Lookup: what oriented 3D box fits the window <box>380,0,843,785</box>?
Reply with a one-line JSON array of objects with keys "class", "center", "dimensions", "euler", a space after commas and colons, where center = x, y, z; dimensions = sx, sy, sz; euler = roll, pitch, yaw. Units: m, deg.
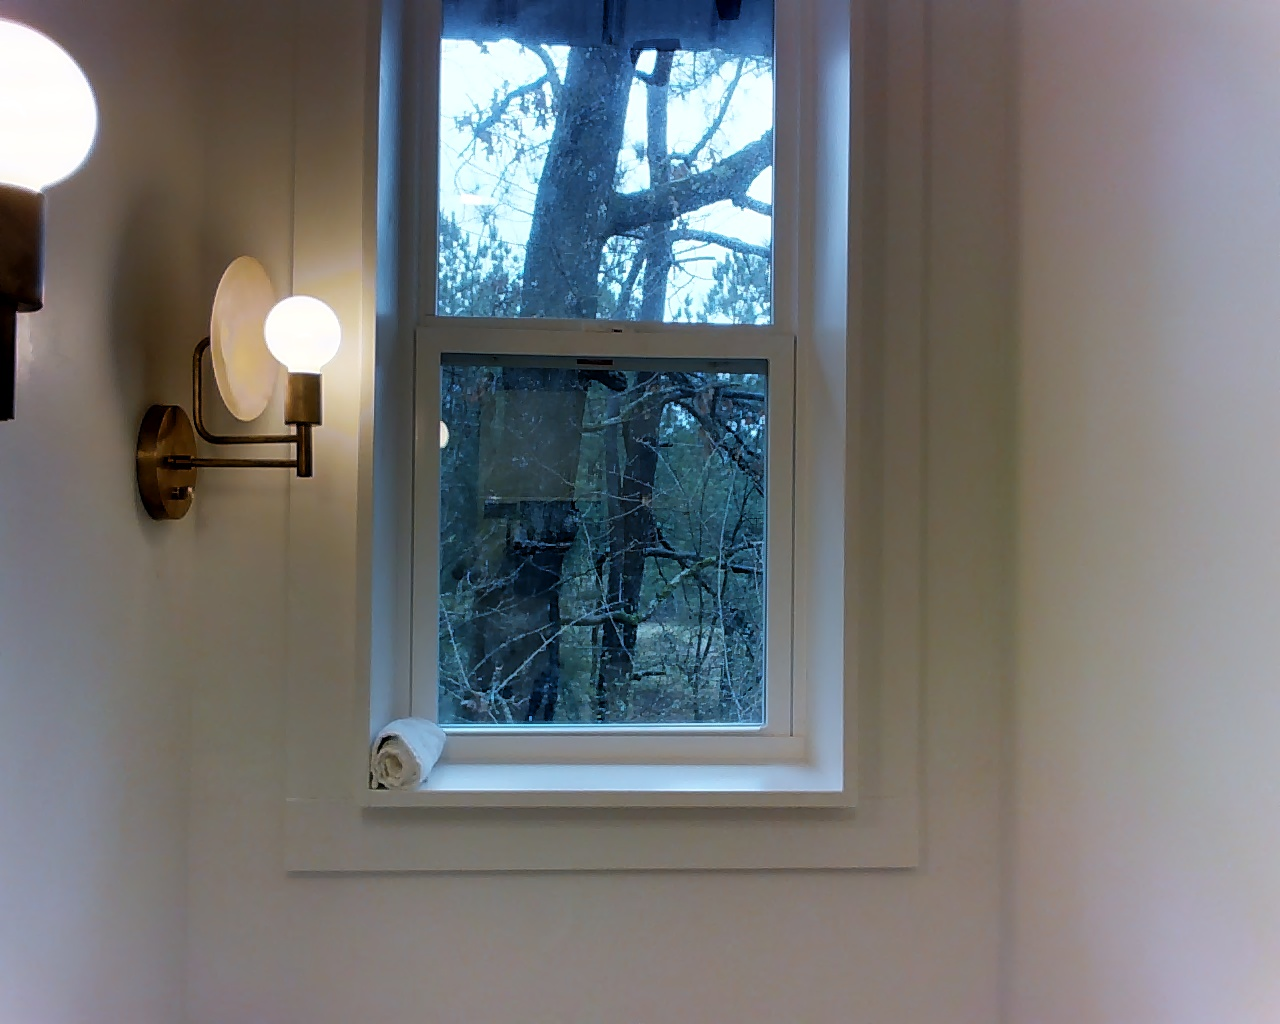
[{"class": "window", "center": [-0.030, -0.250, 1.470], "dimensions": [0.600, 1.230, 0.030], "euler": [1, -1, -5]}]
